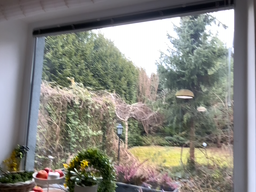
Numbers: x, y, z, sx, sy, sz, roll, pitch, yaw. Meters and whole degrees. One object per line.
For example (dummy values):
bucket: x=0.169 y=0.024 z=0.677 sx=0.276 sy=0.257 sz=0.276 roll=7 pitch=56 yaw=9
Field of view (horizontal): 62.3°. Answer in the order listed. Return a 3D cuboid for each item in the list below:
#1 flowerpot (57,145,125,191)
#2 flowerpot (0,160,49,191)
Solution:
flowerpot: x=-0.250 y=0.600 z=1.520 sx=0.300 sy=0.420 sz=0.390 roll=1 pitch=-6 yaw=23
flowerpot: x=-0.850 y=0.660 z=1.630 sx=0.310 sy=0.230 sz=0.310 roll=1 pitch=-6 yaw=26
